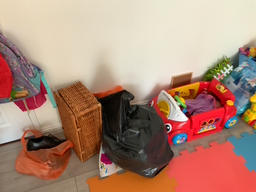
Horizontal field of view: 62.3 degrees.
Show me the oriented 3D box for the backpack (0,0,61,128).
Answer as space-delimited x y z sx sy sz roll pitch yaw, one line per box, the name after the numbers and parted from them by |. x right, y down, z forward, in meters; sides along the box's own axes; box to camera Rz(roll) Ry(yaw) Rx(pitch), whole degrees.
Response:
-0.720 -0.150 1.220 0.490 0.700 0.180 -15 43 -17 | backpack
